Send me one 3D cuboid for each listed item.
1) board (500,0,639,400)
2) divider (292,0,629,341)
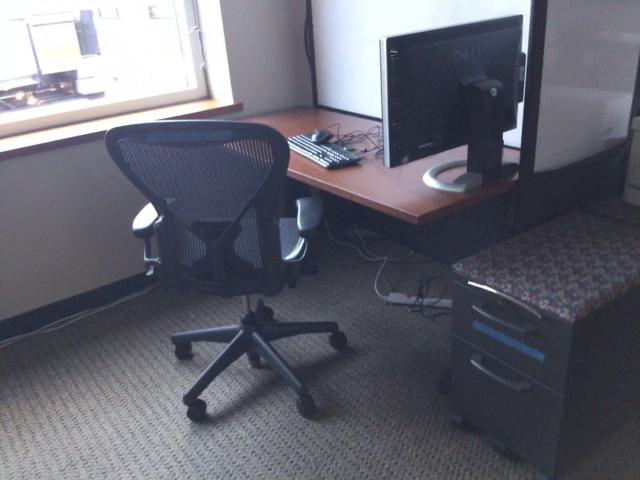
[{"bbox_3d":[0.860,-0.360,1.790,0.640,1.670,0.180,-20,27,-29],"label":"board"},{"bbox_3d":[0.410,-0.600,2.290,0.200,1.560,1.480,-21,27,-30],"label":"divider"}]
